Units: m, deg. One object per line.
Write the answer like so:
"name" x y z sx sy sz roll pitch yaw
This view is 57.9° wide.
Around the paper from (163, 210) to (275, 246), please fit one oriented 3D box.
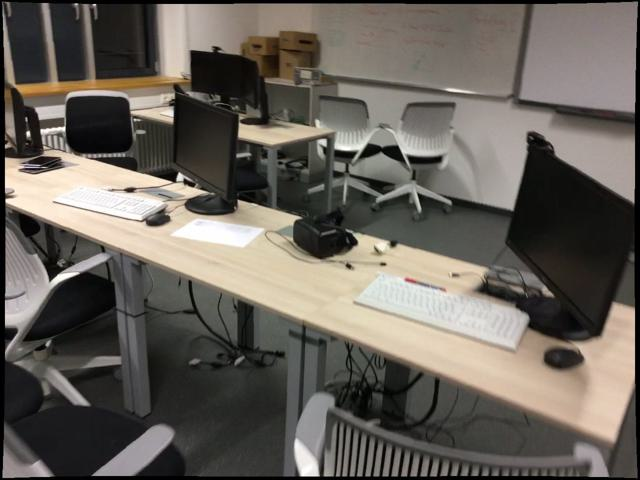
"paper" -0.380 -0.050 2.220 0.350 0.020 0.250 6 23 16
